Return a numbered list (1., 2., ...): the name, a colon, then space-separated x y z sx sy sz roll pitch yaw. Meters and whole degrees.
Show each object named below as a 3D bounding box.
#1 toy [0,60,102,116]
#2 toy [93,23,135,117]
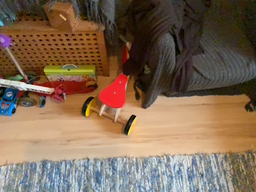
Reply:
1. toy: -0.620 -0.040 1.400 0.860 0.280 0.230 -3 63 -2
2. toy: -0.080 -0.190 1.440 0.240 0.210 0.620 1 62 0
